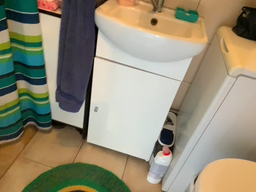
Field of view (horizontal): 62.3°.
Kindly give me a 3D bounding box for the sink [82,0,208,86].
[{"bbox_3d":[0.090,-0.270,0.940,0.460,0.140,0.370,18,39,3],"label":"sink"}]
